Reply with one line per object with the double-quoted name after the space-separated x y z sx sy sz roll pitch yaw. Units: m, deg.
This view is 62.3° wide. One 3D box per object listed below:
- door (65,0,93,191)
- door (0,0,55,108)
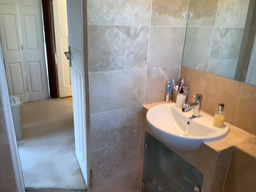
-0.460 -0.070 1.980 0.050 1.890 0.740 -7 22 -23 "door"
-1.770 -0.830 3.660 0.810 2.060 0.060 -10 23 -31 "door"
